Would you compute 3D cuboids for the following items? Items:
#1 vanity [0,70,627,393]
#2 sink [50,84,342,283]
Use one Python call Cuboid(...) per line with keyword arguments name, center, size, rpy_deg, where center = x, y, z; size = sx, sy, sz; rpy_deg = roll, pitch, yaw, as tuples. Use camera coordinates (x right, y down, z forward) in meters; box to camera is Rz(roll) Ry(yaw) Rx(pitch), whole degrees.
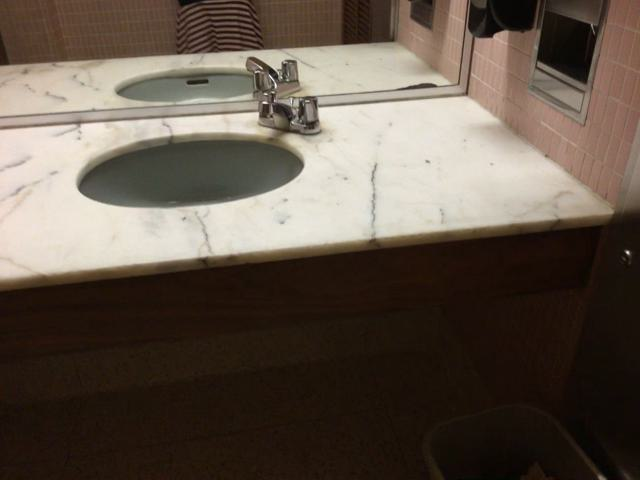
Cuboid(name="vanity", center=(-0.230, -0.070, 1.080), size=(1.280, 0.270, 0.600), rpy_deg=(-6, 31, -8))
Cuboid(name="sink", center=(-0.220, -0.130, 1.140), size=(0.470, 0.240, 0.320), rpy_deg=(-6, 31, -8))
